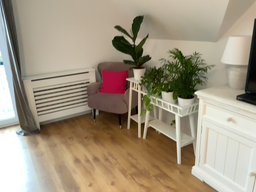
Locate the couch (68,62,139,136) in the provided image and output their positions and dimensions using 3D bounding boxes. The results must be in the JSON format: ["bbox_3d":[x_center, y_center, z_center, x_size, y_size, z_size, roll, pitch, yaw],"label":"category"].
[{"bbox_3d":[-0.340,-0.010,3.350,0.790,0.910,0.730,7,21,26],"label":"couch"}]
